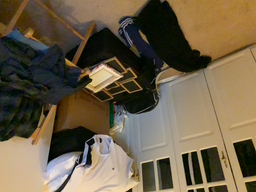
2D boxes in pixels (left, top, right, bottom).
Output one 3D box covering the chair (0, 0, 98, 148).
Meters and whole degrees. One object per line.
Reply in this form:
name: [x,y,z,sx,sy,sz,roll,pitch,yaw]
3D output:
chair: [-0.540,-0.180,1.220,0.520,0.760,0.470,-22,143,29]
